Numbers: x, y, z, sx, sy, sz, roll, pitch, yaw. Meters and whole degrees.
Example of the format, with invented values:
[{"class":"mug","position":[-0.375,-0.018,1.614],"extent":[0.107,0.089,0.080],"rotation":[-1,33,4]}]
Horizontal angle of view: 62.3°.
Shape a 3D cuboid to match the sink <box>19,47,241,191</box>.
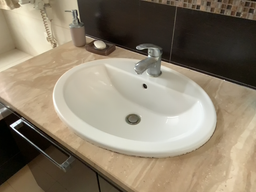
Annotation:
[{"class":"sink","position":[0.010,0.050,0.780],"extent":[0.610,0.150,0.470],"rotation":[24,45,28]}]
